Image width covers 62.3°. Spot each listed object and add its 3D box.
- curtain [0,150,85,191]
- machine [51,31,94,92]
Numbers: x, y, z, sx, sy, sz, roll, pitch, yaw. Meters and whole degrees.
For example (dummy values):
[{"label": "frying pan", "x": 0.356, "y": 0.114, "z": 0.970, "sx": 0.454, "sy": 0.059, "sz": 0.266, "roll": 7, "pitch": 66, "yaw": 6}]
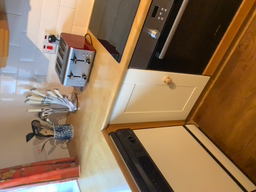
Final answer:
[{"label": "curtain", "x": -0.780, "y": 0.530, "z": 1.410, "sx": 0.210, "sy": 0.960, "sz": 0.090, "roll": 51, "pitch": 130, "yaw": 44}, {"label": "machine", "x": -0.390, "y": -0.230, "z": 1.440, "sx": 0.270, "sy": 0.160, "sz": 0.310, "roll": 54, "pitch": 132, "yaw": 43}]
